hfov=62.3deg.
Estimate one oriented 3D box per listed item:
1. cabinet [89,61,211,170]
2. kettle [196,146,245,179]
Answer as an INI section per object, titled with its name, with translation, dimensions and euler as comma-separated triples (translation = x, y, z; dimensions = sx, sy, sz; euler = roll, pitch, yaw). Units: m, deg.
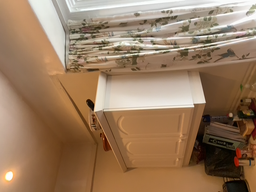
[cabinet]
translation = 0.190, 0.270, 1.810
dimensions = 1.180, 0.710, 0.340
euler = 79, -169, -53
[kettle]
translation = 0.850, 0.630, 1.990
dimensions = 0.230, 0.340, 0.240
euler = 78, -169, -55
